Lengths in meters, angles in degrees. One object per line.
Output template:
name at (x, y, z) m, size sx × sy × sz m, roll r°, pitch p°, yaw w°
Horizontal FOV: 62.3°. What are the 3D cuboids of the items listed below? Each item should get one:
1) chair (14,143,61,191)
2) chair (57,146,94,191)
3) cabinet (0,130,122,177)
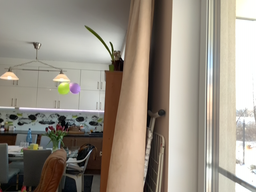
chair at (-1.300, 1.210, 3.110) m, size 0.430 × 0.900 × 0.680 m, roll 3°, pitch -3°, yaw -6°
chair at (-0.860, 1.300, 3.580) m, size 0.510 × 0.810 × 0.510 m, roll 2°, pitch -4°, yaw -5°
cabinet at (-2.490, 1.270, 4.810) m, size 4.640 × 0.930 × 0.590 m, roll 2°, pitch -4°, yaw -6°
